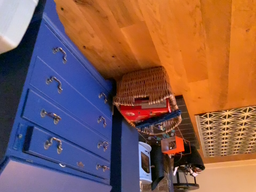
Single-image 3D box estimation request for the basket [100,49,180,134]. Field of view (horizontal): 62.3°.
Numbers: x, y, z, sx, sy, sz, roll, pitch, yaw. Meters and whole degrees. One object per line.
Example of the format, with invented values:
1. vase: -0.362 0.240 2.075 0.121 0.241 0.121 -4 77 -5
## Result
1. basket: 0.110 0.010 1.510 0.400 0.320 0.550 -11 150 16
